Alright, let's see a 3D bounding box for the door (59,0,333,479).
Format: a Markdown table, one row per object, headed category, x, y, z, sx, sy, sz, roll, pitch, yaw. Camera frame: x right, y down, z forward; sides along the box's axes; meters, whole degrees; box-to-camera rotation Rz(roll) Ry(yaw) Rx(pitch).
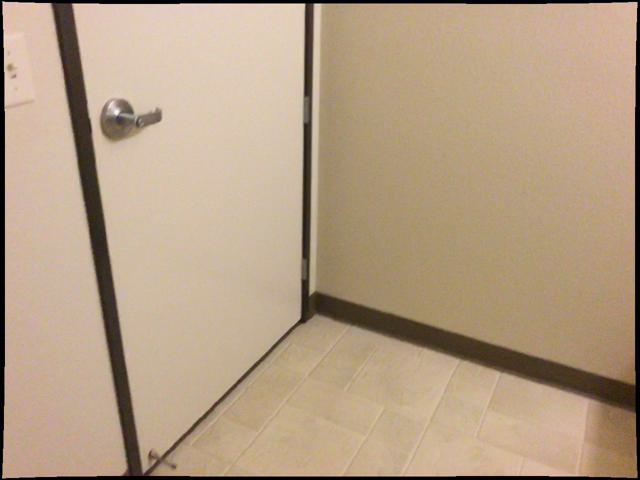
| category | x | y | z | sx | sy | sz | roll | pitch | yaw |
| --- | --- | --- | --- | --- | --- | --- | --- | --- | --- |
| door | -0.239 | -0.341 | 1.650 | 0.080 | 1.904 | 1.020 | 14 | 28 | 24 |
